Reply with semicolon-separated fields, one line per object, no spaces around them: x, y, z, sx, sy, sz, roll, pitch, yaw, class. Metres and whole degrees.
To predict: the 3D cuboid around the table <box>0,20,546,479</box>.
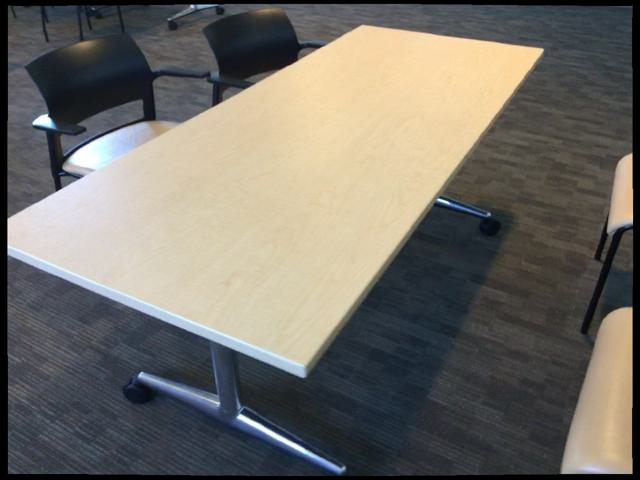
0.040;-0.110;1.890;0.879;0.671;1.890;16;38;24;table
